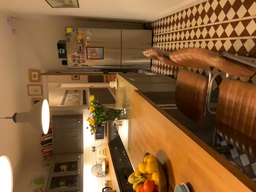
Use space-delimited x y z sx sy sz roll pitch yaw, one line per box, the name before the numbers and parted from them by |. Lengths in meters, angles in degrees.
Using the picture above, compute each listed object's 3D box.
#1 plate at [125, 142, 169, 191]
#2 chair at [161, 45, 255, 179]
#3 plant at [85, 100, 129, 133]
plate | 0.090 0.460 1.190 0.280 0.160 0.300 -141 51 -74
chair | 0.710 0.020 1.060 0.410 0.960 0.500 -133 44 -72
plant | -0.270 0.240 2.620 0.300 0.500 0.310 -136 46 -73
